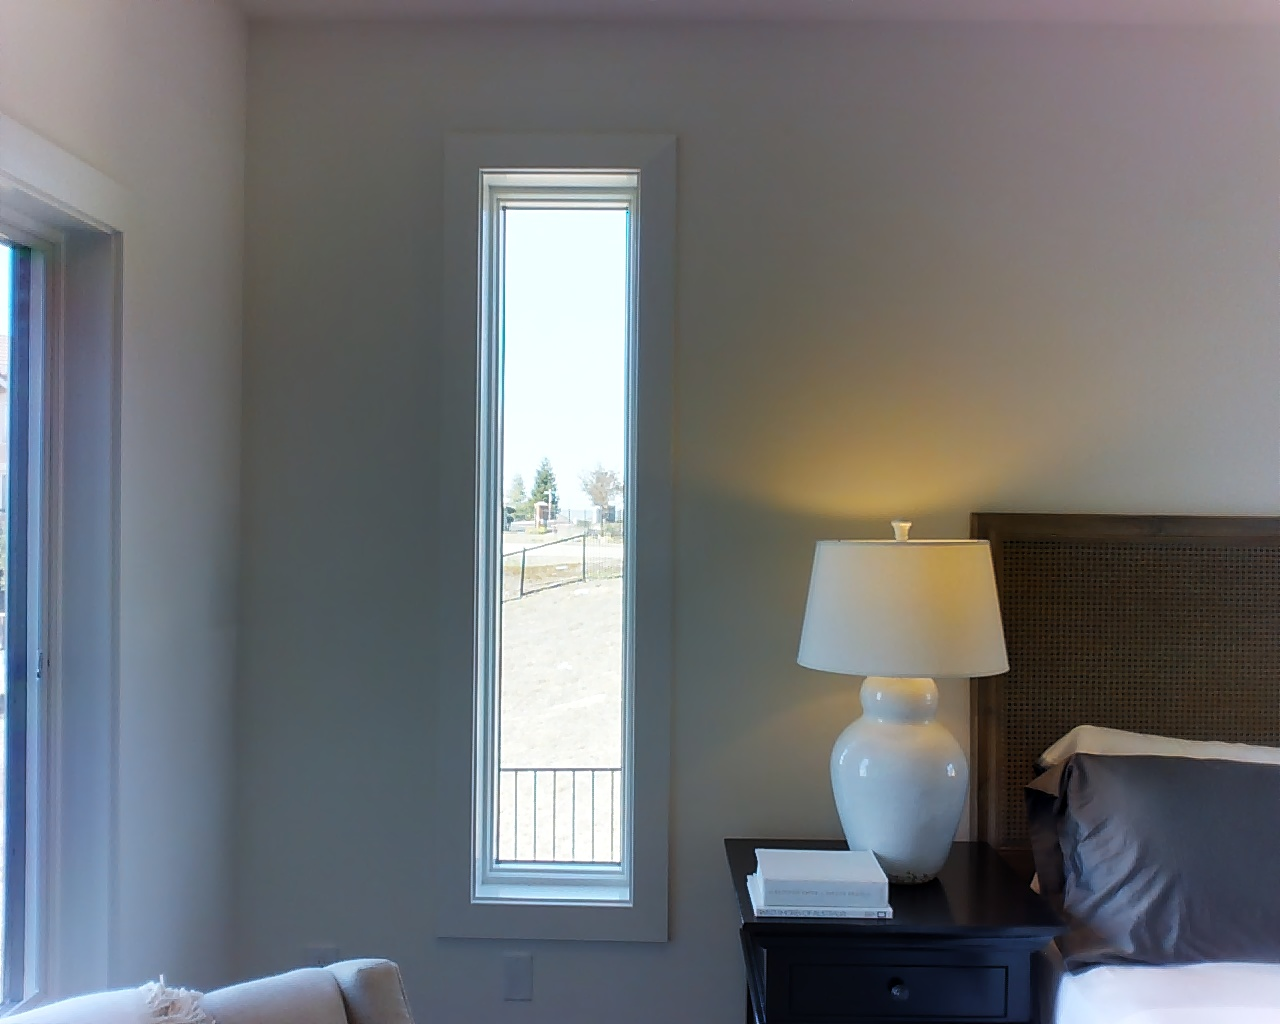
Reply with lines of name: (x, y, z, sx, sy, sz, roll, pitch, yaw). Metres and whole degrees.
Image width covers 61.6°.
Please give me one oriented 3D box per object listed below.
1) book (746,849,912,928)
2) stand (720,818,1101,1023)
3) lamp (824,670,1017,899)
book: (0.370, 0.750, 2.150, 0.290, 0.080, 0.220, 1, 0, -1)
stand: (0.530, 1.150, 2.320, 0.680, 0.800, 0.580, 1, 0, 1)
lamp: (0.590, 0.570, 2.310, 0.340, 0.410, 0.300, 1, 0, 2)
